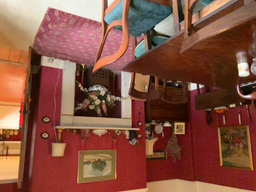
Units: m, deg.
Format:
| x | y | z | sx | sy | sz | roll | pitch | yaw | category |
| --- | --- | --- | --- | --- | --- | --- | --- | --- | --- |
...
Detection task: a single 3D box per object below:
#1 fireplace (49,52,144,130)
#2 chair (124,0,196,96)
| x | y | z | sx | sy | sz | roll | pitch | yaw | category |
| --- | --- | --- | --- | --- | --- | --- | --- | --- | --- |
| -0.570 | 0.010 | 3.980 | 1.520 | 1.170 | 0.790 | 6 | 166 | -30 | fireplace |
| 0.310 | -0.500 | 2.230 | 0.460 | 0.870 | 0.540 | 7 | 166 | -33 | chair |
